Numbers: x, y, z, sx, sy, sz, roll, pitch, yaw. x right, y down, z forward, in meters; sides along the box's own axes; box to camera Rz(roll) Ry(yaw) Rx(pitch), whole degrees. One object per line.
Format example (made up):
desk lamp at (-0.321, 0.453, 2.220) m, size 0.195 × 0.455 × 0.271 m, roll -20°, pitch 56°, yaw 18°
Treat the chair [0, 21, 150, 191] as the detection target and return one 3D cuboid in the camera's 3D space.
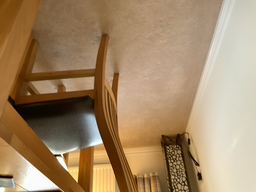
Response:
chair at (-0.200, 0.210, 0.980) m, size 0.540 × 1.040 × 0.490 m, roll -7°, pitch 143°, yaw 3°
